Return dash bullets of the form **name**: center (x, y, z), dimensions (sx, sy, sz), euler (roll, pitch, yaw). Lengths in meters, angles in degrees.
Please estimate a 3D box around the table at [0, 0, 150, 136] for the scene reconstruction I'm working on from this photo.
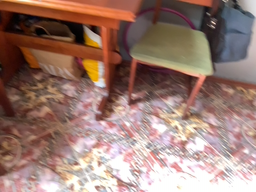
- **table**: center (-0.490, -0.370, 1.300), dimensions (1.130, 0.750, 0.700), euler (11, 44, 4)
